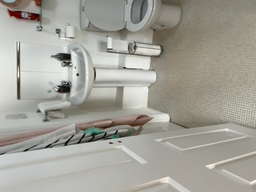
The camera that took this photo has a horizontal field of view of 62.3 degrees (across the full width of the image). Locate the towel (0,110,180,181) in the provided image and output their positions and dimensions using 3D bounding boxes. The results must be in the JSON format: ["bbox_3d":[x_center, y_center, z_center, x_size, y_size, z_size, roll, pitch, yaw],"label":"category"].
[{"bbox_3d":[-0.360,0.230,1.200,0.470,1.310,0.130,19,107,57],"label":"towel"}]

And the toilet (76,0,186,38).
[{"bbox_3d":[0.010,-0.790,1.960,0.640,0.780,0.370,19,107,57],"label":"toilet"}]

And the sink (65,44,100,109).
[{"bbox_3d":[-0.430,-0.190,1.940,0.410,0.170,0.530,19,107,57],"label":"sink"}]
